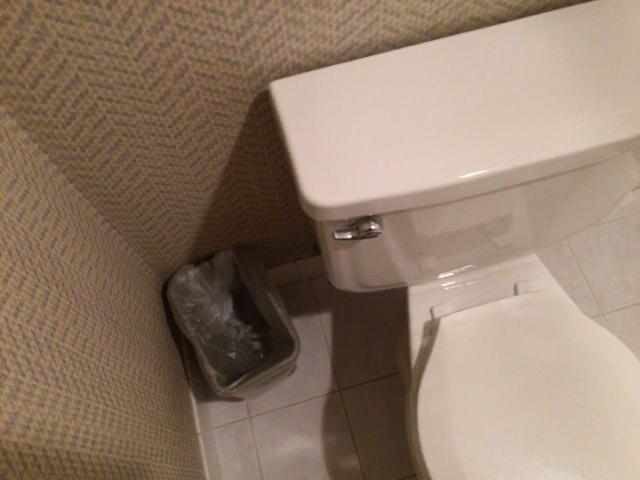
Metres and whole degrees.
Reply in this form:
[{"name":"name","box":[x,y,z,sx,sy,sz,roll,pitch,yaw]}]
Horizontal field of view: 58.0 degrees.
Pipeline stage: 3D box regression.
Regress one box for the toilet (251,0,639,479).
[{"name":"toilet","box":[0.310,0.190,0.890,0.550,0.740,0.730,-16,66,-1]}]

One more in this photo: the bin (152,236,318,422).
[{"name":"bin","box":[-0.160,0.190,1.160,0.230,0.270,0.260,-16,66,-1]}]
